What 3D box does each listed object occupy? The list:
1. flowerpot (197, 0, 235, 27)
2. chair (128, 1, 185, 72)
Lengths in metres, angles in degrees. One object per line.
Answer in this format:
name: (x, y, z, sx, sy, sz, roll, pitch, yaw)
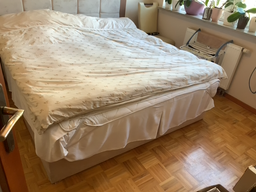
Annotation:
flowerpot: (1.230, -1.240, 2.950, 0.250, 0.460, 0.310, -12, 36, -28)
chair: (0.440, -1.030, 3.620, 0.460, 0.960, 0.700, -15, 38, -32)
